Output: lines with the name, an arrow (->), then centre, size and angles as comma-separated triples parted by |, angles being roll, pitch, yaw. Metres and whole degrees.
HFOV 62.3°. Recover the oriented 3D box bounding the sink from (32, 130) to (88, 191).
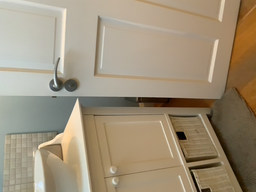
sink -> -0.330, 0.430, 0.960 | 0.480, 0.150, 0.360 | -54, 43, 46
